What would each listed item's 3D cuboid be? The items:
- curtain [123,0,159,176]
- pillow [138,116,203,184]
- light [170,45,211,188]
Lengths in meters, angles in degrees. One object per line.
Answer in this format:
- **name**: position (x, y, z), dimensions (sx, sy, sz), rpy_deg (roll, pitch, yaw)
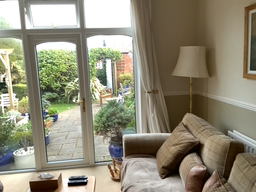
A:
- **curtain**: position (0.180, -0.290, 2.910), dimensions (0.400, 2.760, 0.320), rpy_deg (-3, 9, -7)
- **pillow**: position (0.410, 0.530, 2.240), dimensions (0.550, 0.210, 0.530), rpy_deg (-44, 8, 2)
- **light**: position (0.830, 0.260, 2.870), dimensions (0.410, 1.800, 0.340), rpy_deg (5, 11, 38)
